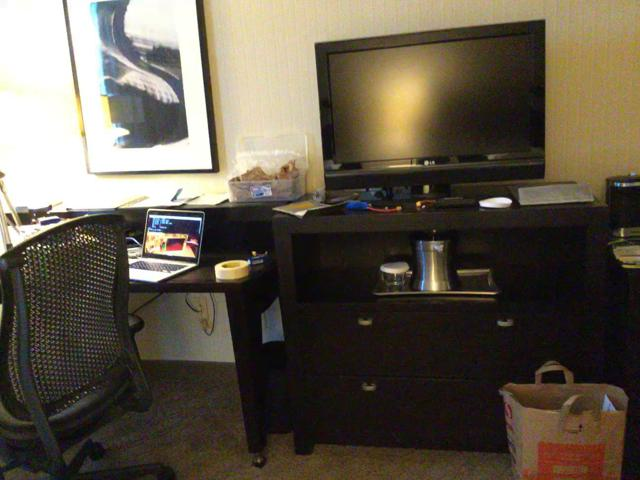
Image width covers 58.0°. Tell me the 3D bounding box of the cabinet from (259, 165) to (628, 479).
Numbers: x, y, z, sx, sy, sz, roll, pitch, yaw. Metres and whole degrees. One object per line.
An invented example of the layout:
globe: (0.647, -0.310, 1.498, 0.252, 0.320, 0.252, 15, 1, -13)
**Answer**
cabinet: (0.450, 0.270, 2.250, 1.160, 1.020, 0.570, 0, 15, 14)

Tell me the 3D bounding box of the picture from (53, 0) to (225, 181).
picture: (-0.810, -0.720, 2.590, 0.700, 0.890, 0.070, 0, 15, 14)
